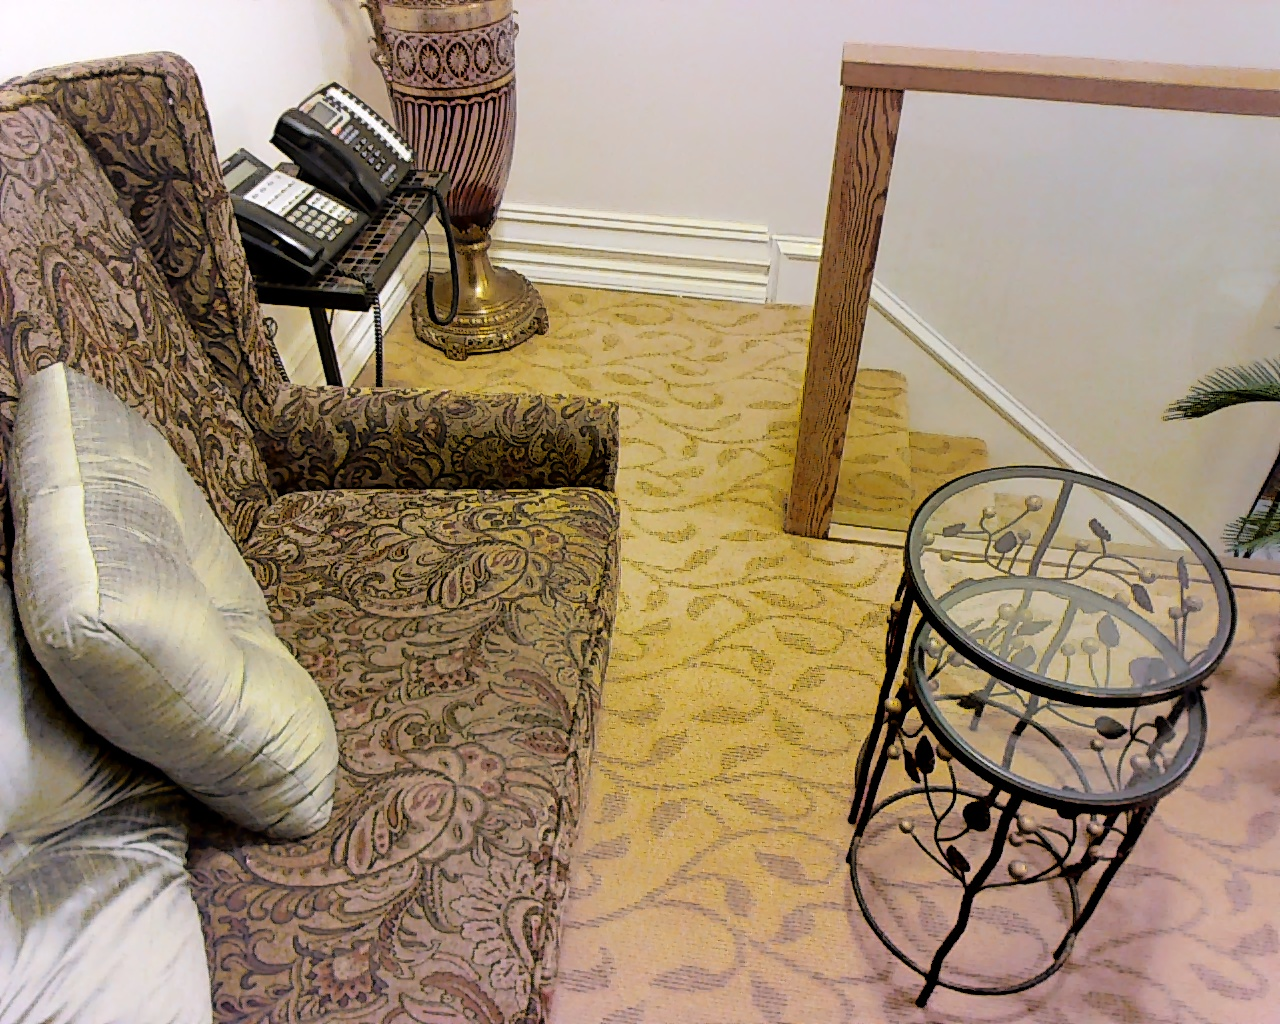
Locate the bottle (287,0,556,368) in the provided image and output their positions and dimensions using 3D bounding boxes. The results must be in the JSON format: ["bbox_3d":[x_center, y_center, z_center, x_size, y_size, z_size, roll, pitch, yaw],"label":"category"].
[{"bbox_3d":[-0.460,-0.940,2.350,0.420,1.190,0.360,7,42,8],"label":"bottle"}]
